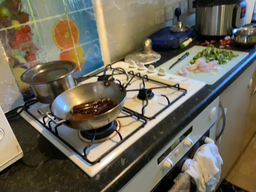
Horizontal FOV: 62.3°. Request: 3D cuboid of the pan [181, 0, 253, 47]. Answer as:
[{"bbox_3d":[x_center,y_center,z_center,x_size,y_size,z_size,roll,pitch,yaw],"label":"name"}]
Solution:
[{"bbox_3d":[0.540,-0.500,1.290,0.290,0.280,0.330,20,40,39],"label":"pan"}]
